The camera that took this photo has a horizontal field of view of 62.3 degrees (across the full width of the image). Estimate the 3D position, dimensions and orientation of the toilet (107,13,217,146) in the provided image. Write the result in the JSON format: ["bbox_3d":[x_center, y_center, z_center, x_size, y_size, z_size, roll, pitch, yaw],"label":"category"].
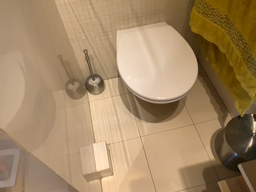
[{"bbox_3d":[0.140,-0.090,1.190,0.380,0.430,0.530,-12,56,-4],"label":"toilet"}]

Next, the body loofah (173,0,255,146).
[{"bbox_3d":[0.450,-0.220,1.020,0.180,0.860,0.600,-11,56,-4],"label":"body loofah"}]
